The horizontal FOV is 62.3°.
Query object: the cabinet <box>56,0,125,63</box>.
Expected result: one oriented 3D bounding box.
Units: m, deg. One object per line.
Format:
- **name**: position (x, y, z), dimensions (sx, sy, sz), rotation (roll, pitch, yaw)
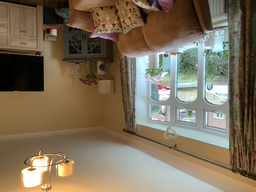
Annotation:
- **cabinet**: position (-0.720, -1.190, 4.120), dimensions (1.270, 1.000, 0.430), rotation (1, -178, 20)
